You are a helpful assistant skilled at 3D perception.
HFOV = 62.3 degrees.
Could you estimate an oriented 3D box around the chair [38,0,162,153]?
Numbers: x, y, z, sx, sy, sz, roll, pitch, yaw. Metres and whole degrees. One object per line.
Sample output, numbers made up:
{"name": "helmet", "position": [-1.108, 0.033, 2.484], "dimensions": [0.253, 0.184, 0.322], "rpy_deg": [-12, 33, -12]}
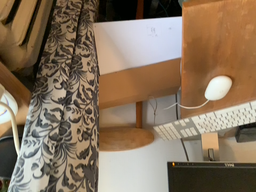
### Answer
{"name": "chair", "position": [-0.080, -0.170, 1.060], "dimensions": [0.400, 0.770, 0.390], "rpy_deg": [-6, 147, 8]}

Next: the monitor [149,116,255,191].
{"name": "monitor", "position": [0.340, 0.320, 0.700], "dimensions": [0.430, 0.480, 0.050], "rpy_deg": [-9, 145, -6]}
